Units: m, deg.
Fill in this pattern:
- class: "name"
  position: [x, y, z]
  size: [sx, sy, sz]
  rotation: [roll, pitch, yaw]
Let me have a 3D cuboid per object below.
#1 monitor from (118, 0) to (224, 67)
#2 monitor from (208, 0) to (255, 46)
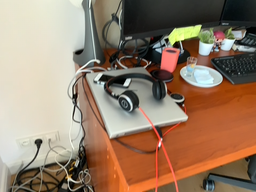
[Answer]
- class: "monitor"
  position: [0.200, -0.370, 0.860]
  size: [0.520, 0.420, 0.040]
  rotation: [-18, 40, -26]
- class: "monitor"
  position: [0.690, -0.440, 1.010]
  size: [0.510, 0.410, 0.040]
  rotation: [-1, 36, -5]
